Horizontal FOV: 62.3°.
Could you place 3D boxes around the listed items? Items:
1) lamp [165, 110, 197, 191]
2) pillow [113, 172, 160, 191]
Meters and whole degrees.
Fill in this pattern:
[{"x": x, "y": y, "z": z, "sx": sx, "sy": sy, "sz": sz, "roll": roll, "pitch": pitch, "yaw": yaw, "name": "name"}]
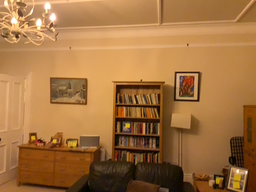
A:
[{"x": 0.940, "y": 0.990, "z": 3.810, "sx": 0.480, "sy": 0.340, "sz": 1.450, "roll": 2, "pitch": -92, "yaw": 5, "name": "lamp"}, {"x": 0.100, "y": 1.160, "z": 2.560, "sx": 0.450, "sy": 0.410, "sz": 0.210, "roll": -6, "pitch": -65, "yaw": 27, "name": "pillow"}]
